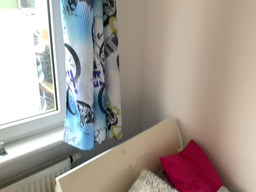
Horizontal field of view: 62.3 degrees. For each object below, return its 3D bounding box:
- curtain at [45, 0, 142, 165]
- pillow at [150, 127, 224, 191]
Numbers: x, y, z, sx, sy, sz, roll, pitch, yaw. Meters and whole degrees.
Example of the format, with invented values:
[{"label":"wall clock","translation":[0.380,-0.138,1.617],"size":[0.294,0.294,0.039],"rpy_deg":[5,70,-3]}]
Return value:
[{"label":"curtain","translation":[-0.200,-0.480,1.230],"size":[0.390,1.660,0.400],"rpy_deg":[-16,24,-42]},{"label":"pillow","translation":[0.400,0.550,1.420],"size":[0.230,0.540,0.360],"rpy_deg":[6,-26,46]}]
